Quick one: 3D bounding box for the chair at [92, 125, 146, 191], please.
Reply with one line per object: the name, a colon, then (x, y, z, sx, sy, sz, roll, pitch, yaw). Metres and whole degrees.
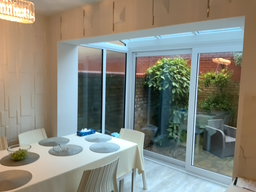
chair: (-0.130, 0.890, 3.040, 0.540, 0.770, 0.530, 7, 8, 43)
